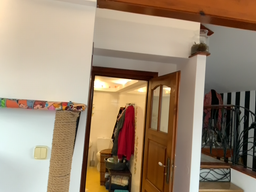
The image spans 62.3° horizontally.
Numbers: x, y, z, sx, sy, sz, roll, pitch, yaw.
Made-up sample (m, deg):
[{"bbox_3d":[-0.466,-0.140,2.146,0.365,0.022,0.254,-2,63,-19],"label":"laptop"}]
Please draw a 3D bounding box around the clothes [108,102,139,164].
[{"bbox_3d":[-0.110,0.650,4.020,0.400,1.040,0.750,5,-3,-9],"label":"clothes"}]
